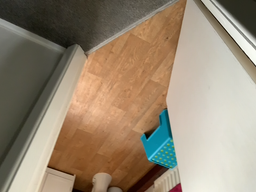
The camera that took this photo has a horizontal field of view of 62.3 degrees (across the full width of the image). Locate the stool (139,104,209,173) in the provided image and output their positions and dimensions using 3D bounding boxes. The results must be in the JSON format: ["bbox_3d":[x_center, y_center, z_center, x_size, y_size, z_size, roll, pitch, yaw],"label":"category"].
[{"bbox_3d":[0.350,0.360,1.750,0.340,0.270,0.440,22,126,-16],"label":"stool"}]
